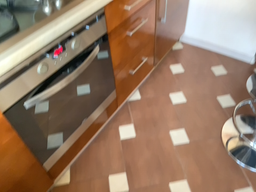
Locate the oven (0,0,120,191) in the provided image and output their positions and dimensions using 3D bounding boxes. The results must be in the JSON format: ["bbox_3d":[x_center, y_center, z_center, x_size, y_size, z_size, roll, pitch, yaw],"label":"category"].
[{"bbox_3d":[-0.510,-0.050,1.200,0.640,0.880,0.590,23,53,24],"label":"oven"}]
